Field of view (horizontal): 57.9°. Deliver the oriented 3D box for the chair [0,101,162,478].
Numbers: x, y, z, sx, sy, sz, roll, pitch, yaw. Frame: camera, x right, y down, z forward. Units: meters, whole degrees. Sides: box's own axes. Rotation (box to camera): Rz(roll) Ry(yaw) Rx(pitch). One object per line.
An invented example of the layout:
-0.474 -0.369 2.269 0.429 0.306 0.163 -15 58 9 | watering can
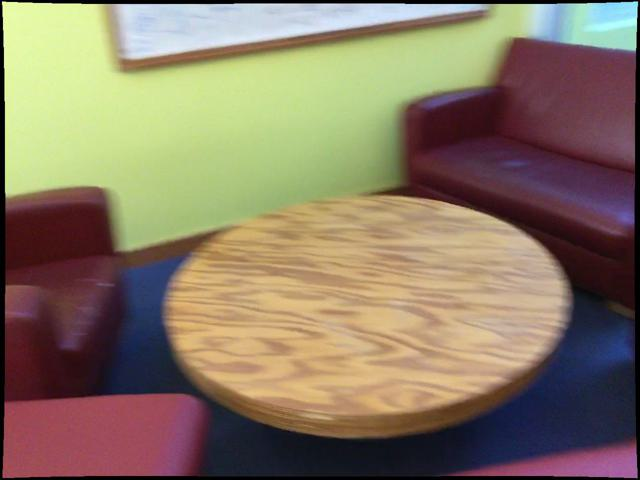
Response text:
-1.119 0.140 1.850 0.889 0.821 0.860 -5 33 0 | chair
